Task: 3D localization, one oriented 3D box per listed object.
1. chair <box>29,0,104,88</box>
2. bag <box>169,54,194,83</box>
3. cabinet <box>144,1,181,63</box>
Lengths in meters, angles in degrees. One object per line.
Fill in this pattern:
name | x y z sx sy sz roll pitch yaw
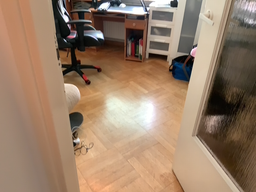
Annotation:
chair | -0.660 -0.860 2.500 0.690 1.370 0.660 -3 33 -8
bag | 0.740 -0.390 2.930 0.270 0.220 0.390 12 34 14
cabinet | 0.570 -1.070 3.460 0.400 0.770 0.720 11 34 13
